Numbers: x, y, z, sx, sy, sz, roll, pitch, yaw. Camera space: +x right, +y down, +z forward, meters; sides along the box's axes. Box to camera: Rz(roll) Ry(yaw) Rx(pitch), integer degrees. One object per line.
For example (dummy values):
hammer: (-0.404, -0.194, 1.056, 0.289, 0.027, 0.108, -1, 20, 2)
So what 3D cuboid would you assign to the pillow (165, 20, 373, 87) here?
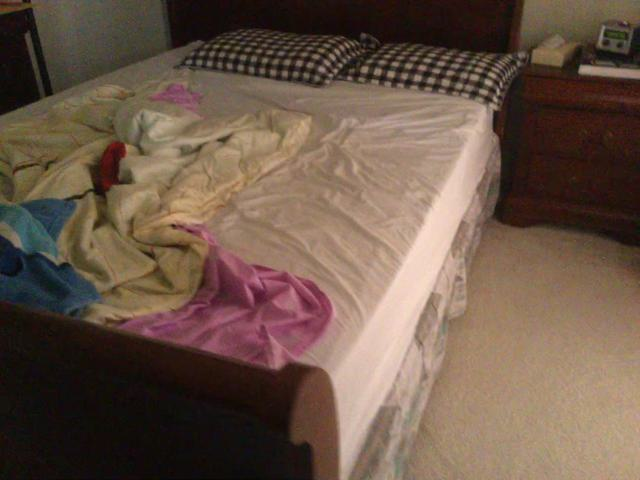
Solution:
pillow: (-0.190, -0.760, 2.310, 0.700, 0.110, 0.440, 11, 33, 19)

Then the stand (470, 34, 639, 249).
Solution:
stand: (1.050, -0.410, 2.330, 0.730, 0.680, 0.410, 11, 33, 19)

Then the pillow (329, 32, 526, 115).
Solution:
pillow: (0.410, -0.640, 2.160, 0.630, 0.140, 0.450, 11, 33, 19)
